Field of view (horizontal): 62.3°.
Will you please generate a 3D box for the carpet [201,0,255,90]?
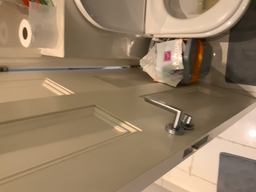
[{"bbox_3d":[0.670,-0.350,1.060,0.550,0.020,0.640,11,104,39],"label":"carpet"}]
